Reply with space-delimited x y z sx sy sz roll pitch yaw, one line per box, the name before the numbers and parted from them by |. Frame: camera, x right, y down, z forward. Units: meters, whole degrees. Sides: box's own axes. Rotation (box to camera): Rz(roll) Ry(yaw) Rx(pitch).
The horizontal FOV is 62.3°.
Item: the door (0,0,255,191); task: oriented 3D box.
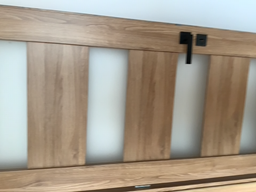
door | 0.270 0.030 1.020 0.130 1.900 0.760 -149 62 -72
